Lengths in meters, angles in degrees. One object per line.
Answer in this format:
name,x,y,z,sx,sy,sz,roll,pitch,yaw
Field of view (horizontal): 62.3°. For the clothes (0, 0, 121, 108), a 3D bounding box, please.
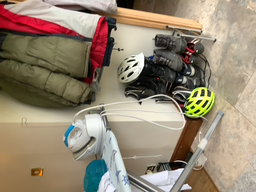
clothes,-0.660,-0.340,1.450,0.630,1.080,0.820,170,102,-70
